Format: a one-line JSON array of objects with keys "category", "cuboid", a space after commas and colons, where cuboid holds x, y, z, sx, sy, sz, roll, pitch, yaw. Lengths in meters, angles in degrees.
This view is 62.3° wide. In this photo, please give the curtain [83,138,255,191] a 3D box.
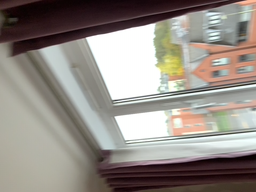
[{"category": "curtain", "cuboid": [0.710, 0.530, 1.490, 0.200, 1.970, 0.500, -86, -16, -44]}]
